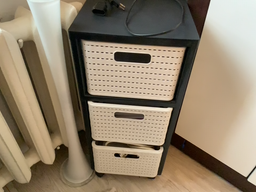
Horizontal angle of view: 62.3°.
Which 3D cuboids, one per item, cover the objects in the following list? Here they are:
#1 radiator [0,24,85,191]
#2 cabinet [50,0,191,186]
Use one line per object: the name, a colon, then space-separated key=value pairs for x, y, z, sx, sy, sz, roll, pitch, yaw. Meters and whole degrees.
radiator: x=-0.510 y=0.200 z=0.700 sx=0.200 sy=0.630 sz=0.700 roll=32 pitch=50 yaw=28
cabinet: x=-0.020 y=0.000 z=0.870 sx=0.320 sy=0.720 sz=0.400 roll=4 pitch=42 yaw=1
